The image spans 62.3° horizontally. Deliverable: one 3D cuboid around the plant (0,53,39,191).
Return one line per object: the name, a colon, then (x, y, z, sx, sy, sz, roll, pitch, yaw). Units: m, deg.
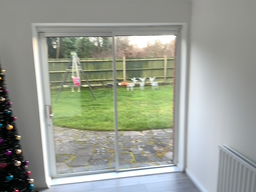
plant: (-1.280, 0.400, 2.270, 0.380, 1.670, 0.400, -2, 10, -9)
